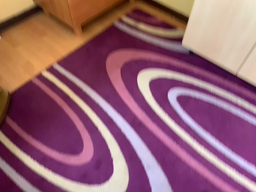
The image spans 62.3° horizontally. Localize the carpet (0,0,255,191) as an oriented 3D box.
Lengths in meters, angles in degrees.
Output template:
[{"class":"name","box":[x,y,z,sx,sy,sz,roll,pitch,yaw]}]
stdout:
[{"class":"carpet","box":[-0.050,0.110,1.240,1.470,0.060,1.810,37,62,22]}]
